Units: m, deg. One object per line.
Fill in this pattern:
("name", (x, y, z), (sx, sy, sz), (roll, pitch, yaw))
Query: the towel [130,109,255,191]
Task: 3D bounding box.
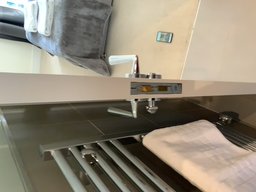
("towel", (0.270, 0.180, 0.610), (0.500, 0.270, 0.100), (28, 113, 48))
